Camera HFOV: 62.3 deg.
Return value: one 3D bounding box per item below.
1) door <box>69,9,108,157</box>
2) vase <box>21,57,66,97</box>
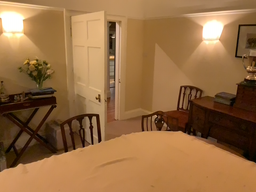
[{"bbox_3d":[-0.600,-0.190,3.160,0.100,1.980,0.910,-10,19,-38],"label":"door"},{"bbox_3d":[-1.230,-0.300,3.110,0.530,0.510,0.250,-10,19,-38],"label":"vase"}]
